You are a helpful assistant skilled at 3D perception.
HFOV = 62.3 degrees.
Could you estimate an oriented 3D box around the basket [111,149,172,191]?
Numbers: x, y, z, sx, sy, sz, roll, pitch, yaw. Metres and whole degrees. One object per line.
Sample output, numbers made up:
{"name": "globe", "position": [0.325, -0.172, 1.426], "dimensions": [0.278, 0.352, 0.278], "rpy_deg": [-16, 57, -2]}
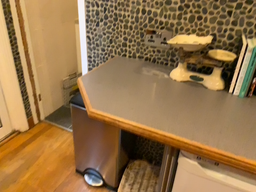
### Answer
{"name": "basket", "position": [0.090, 0.620, 1.430], "dimensions": [0.290, 0.180, 0.460], "rpy_deg": [15, 32, 18]}
